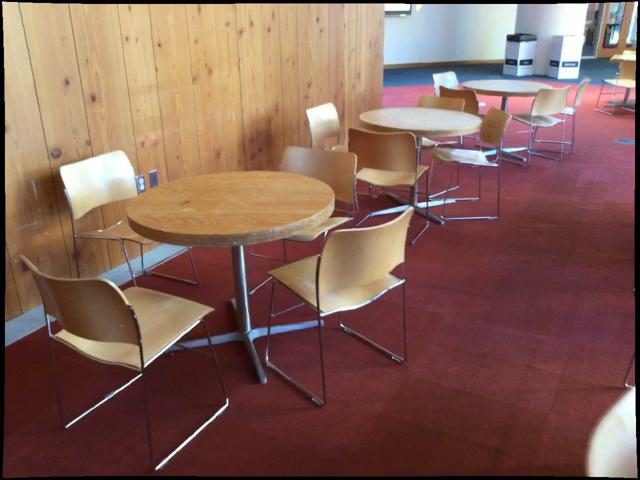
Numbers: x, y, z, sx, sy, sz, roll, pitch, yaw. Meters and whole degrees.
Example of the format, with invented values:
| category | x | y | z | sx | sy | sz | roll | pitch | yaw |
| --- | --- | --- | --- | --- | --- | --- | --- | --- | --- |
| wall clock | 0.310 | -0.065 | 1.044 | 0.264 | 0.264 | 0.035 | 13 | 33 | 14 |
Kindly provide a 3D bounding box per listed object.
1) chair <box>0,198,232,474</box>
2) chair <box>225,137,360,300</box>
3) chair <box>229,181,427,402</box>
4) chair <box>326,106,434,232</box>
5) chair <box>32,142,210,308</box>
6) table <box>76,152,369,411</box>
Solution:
| category | x | y | z | sx | sy | sz | roll | pitch | yaw |
| --- | --- | --- | --- | --- | --- | --- | --- | --- | --- |
| chair | -0.709 | 0.300 | 2.100 | 0.480 | 0.701 | 0.580 | 12 | 26 | 25 |
| chair | -0.130 | -0.140 | 3.130 | 0.520 | 0.681 | 0.500 | 12 | 26 | 25 |
| chair | 0.040 | 0.170 | 2.440 | 0.550 | 0.621 | 0.580 | 19 | 30 | 37 |
| chair | 0.410 | -0.511 | 3.960 | 0.510 | 0.661 | 0.630 | 12 | 26 | 25 |
| chair | -1.049 | -0.110 | 3.120 | 0.709 | 0.671 | 0.460 | 12 | 26 | 25 |
| table | -0.390 | 0.100 | 2.680 | 0.939 | 0.721 | 0.870 | 12 | 26 | 25 |
